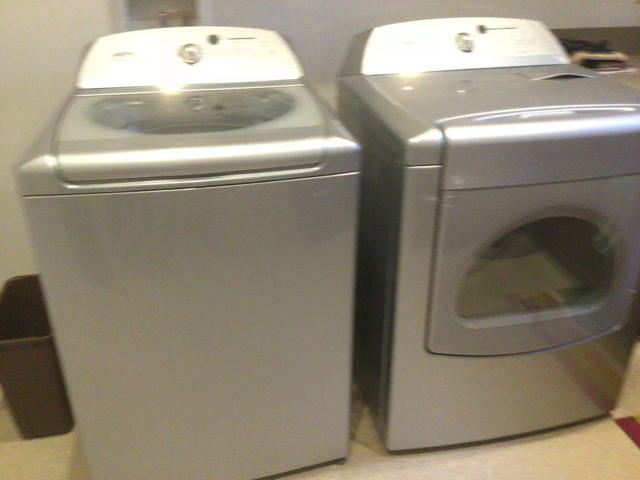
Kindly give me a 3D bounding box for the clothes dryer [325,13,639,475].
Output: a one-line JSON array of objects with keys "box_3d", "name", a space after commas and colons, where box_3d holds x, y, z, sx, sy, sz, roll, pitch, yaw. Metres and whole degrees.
[{"box_3d": [0.470, -0.050, 1.710, 0.750, 1.070, 0.740, -7, 28, -12], "name": "clothes dryer"}]
